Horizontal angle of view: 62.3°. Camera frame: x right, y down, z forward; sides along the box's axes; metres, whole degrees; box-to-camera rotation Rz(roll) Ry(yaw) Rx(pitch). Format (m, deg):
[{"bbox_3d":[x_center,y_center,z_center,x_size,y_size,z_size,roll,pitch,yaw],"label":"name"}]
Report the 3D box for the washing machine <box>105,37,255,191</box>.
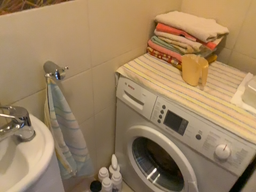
[{"bbox_3d":[0.270,0.250,1.140,0.600,0.840,0.510,33,46,29],"label":"washing machine"}]
